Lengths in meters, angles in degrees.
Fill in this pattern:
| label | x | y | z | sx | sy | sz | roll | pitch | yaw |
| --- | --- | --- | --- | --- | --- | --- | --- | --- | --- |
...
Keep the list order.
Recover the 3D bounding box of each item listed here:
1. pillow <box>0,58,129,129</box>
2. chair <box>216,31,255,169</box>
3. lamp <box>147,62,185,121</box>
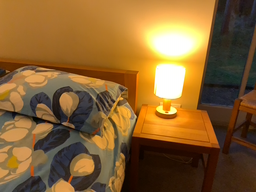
| label | x | y | z | sx | sy | sz | roll | pitch | yaw |
| --- | --- | --- | --- | --- | --- | --- | --- | --- | --- |
| pillow | -0.410 | -0.050 | 1.160 | 0.760 | 0.160 | 0.400 | 7 | 24 | 10 |
| chair | 1.080 | 0.020 | 1.590 | 0.450 | 0.930 | 0.500 | 23 | 31 | 39 |
| lamp | 0.230 | -0.030 | 1.290 | 0.180 | 0.300 | 0.170 | 7 | 24 | 10 |
